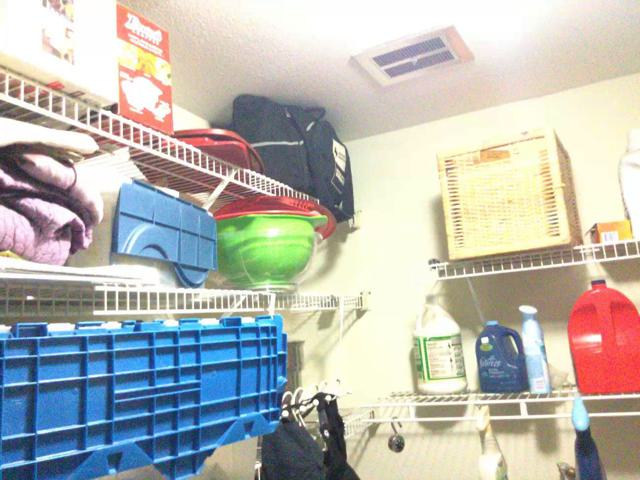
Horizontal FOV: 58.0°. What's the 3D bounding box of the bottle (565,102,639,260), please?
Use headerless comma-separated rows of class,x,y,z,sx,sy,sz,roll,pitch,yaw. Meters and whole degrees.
bottle,0.840,-0.150,1.580,0.250,0.360,0.280,-9,-11,26

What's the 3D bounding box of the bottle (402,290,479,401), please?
bottle,0.380,0.330,1.820,0.170,0.320,0.160,-9,-11,26

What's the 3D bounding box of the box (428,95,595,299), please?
box,0.560,-0.090,1.670,0.350,0.480,0.360,-9,-11,26

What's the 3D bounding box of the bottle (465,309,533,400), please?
bottle,0.540,0.340,1.740,0.140,0.250,0.170,-9,-11,26

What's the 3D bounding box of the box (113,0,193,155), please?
box,-0.320,-0.310,1.120,0.030,0.250,0.180,-9,-10,26
